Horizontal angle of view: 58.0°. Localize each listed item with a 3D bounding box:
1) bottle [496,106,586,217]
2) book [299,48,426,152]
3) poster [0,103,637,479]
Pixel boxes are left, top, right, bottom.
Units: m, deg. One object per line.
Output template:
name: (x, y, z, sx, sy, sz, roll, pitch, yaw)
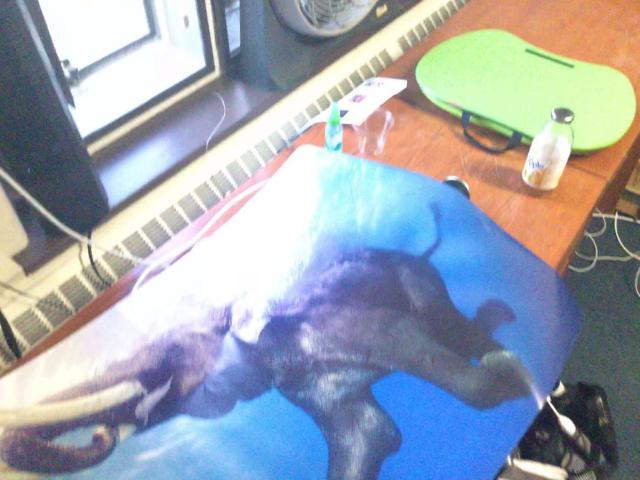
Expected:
bottle: (0.420, -0.150, 1.110, 0.100, 0.160, 0.100, 28, 54, 27)
book: (0.110, -0.350, 1.410, 0.160, 0.080, 0.300, 27, 53, 28)
poster: (-0.050, 0.200, 0.880, 0.660, 0.200, 0.960, 28, 54, 27)
